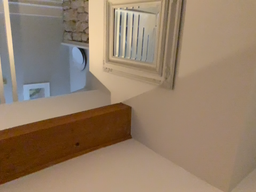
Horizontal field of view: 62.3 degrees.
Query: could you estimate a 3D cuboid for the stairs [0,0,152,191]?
[{"bbox_3d":[-1.750,-0.810,1.840,3.480,3.080,1.930,-10,-158,-35],"label":"stairs"}]
